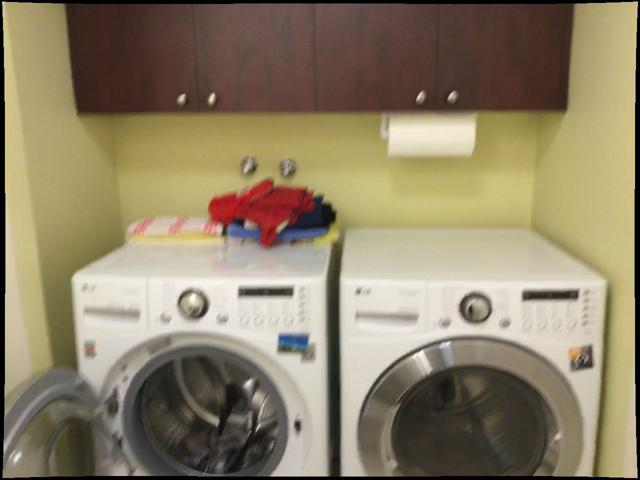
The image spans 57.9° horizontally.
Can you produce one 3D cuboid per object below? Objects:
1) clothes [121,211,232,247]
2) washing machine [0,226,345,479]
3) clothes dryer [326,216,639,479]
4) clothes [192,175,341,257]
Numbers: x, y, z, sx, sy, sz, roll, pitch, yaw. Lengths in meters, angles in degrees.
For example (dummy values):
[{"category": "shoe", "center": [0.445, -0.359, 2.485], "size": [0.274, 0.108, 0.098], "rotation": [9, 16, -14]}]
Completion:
[{"category": "clothes", "center": [-0.480, -0.040, 1.970], "size": [0.320, 0.080, 0.190], "rotation": [0, 13, 4]}, {"category": "washing machine", "center": [-0.320, 0.561, 1.590], "size": [0.749, 0.971, 1.190], "rotation": [0, 13, 4]}, {"category": "clothes dryer", "center": [0.420, 0.480, 1.930], "size": [0.749, 0.971, 0.870], "rotation": [0, 13, 4]}, {"category": "clothes", "center": [-0.160, -0.090, 1.940], "size": [0.450, 0.220, 0.310], "rotation": [0, 13, 4]}]
